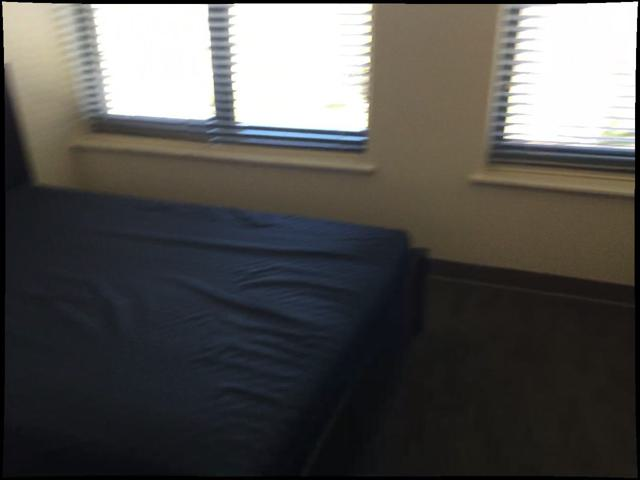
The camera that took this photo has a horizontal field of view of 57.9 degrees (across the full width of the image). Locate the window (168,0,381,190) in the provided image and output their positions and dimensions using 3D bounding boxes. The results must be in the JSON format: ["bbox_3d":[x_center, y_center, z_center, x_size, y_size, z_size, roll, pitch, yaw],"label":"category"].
[{"bbox_3d":[-0.190,-0.751,2.690,0.899,0.931,0.260,7,29,19],"label":"window"}]
